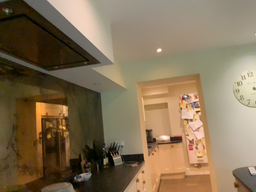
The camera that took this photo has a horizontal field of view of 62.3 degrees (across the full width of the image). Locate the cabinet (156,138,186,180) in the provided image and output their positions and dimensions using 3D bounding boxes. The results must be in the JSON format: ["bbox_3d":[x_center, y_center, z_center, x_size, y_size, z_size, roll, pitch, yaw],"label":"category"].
[{"bbox_3d":[1.120,1.620,5.560,0.630,0.950,0.600,-7,-8,12],"label":"cabinet"}]
